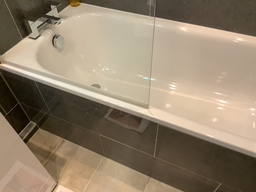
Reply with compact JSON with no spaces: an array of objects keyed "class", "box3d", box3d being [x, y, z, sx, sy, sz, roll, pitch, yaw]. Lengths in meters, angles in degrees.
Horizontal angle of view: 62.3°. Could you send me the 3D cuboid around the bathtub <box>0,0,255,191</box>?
[{"class":"bathtub","box3d":[0.250,0.020,1.130,1.670,0.600,0.680,19,52,17]}]
